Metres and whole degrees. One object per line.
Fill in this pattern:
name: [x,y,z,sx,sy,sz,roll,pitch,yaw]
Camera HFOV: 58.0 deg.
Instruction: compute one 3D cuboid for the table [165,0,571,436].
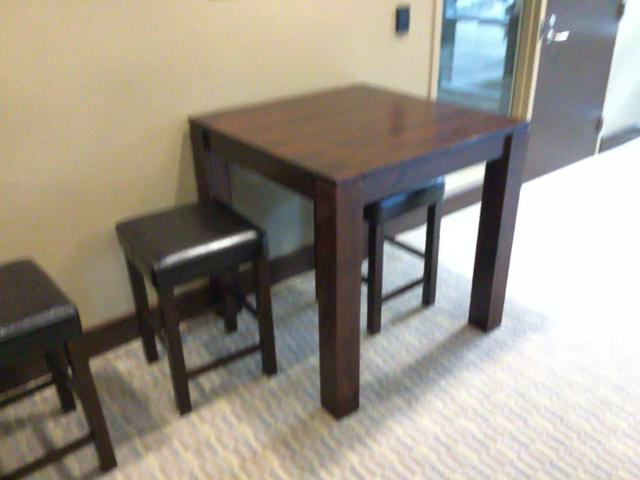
table: [0.160,-0.530,2.160,1.010,1.960,0.990,-21,32,-36]
